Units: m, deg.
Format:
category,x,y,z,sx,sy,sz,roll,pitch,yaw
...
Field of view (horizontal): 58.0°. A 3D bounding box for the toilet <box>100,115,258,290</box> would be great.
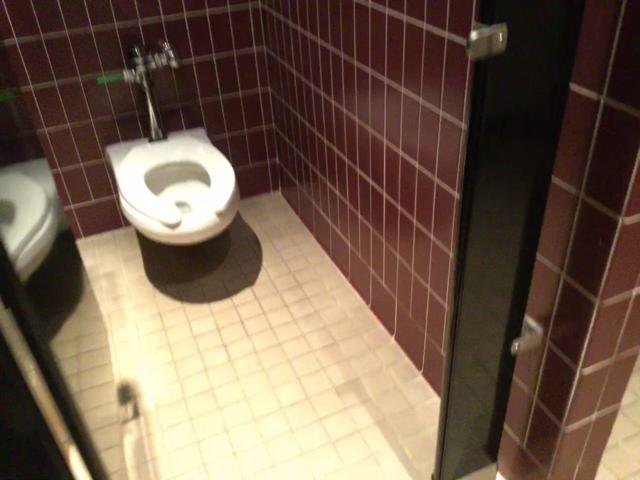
category,x,y,z,sx,sy,sz,roll,pitch,yaw
toilet,-0.490,-0.160,1.930,0.400,0.240,0.630,-15,34,-13
